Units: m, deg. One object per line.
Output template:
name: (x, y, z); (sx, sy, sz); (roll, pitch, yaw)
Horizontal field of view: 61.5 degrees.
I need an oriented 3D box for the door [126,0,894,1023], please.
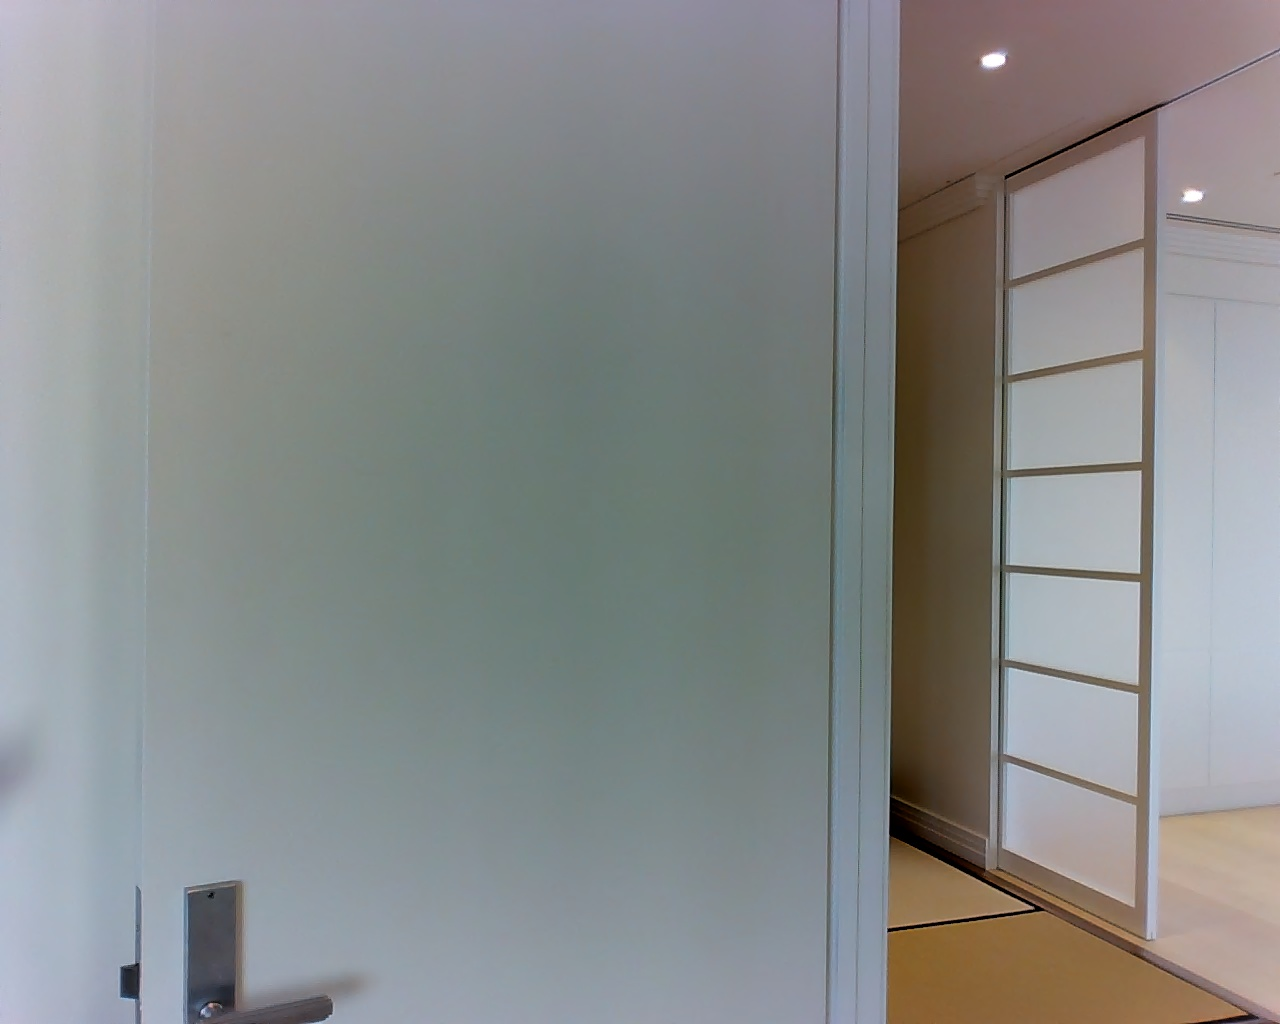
door: (-0.080, 0.160, 1.240); (0.910, 2.381, 0.080); (1, 0, -33)
